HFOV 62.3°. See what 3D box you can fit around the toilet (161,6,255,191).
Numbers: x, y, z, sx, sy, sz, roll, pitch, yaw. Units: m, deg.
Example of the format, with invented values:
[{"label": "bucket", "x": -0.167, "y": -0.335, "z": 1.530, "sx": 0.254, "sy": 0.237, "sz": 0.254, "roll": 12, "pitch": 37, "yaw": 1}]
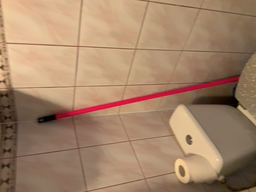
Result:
[{"label": "toilet", "x": 0.670, "y": 0.020, "z": 1.010, "sx": 0.420, "sy": 0.740, "sz": 0.640, "roll": -116, "pitch": 32, "yaw": -44}]
